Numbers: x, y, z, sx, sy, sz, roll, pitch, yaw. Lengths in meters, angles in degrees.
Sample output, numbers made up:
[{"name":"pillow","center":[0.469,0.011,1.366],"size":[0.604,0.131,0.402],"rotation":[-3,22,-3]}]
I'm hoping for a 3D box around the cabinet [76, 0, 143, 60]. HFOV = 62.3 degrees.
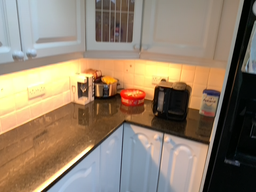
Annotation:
[{"name":"cabinet","center":[-0.150,-0.720,1.530],"size":[0.380,0.830,0.410],"rotation":[-5,22,-23]}]
